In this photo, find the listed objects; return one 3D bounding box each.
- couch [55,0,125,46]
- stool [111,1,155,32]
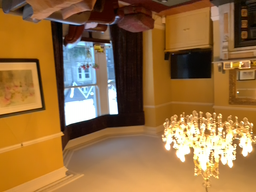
[{"bbox_3d":[-0.720,-1.410,3.900,1.050,0.840,0.850,-5,-173,-23],"label":"couch"},{"bbox_3d":[0.110,-1.770,4.820,0.700,0.450,0.680,2,-171,41],"label":"stool"}]
